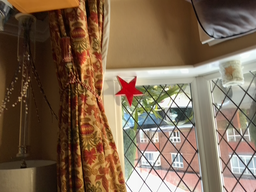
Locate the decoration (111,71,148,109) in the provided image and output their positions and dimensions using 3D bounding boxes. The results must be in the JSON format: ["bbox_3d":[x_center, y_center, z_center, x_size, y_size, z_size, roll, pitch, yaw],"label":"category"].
[{"bbox_3d":[0.010,-0.040,1.660,0.260,0.240,0.210,-3,170,-1],"label":"decoration"}]
